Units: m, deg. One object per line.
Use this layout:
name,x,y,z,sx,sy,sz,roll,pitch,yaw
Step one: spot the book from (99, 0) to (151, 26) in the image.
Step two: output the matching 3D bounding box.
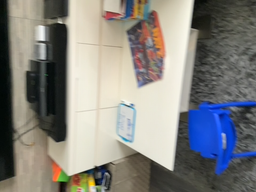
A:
book,-0.020,-0.640,1.300,0.280,0.180,0.360,15,106,47

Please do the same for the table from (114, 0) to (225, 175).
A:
table,0.250,-0.170,1.480,0.540,0.380,1.180,16,106,47
